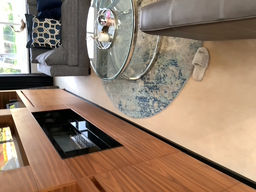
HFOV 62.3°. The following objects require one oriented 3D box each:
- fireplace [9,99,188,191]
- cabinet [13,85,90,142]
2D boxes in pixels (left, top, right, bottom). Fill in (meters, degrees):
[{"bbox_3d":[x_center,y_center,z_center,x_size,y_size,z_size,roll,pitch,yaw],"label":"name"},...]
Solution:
[{"bbox_3d":[-0.550,0.540,2.350,2.040,1.160,0.560,18,108,55],"label":"fireplace"},{"bbox_3d":[-1.470,0.210,3.900,1.600,0.960,0.570,18,108,55],"label":"cabinet"}]
